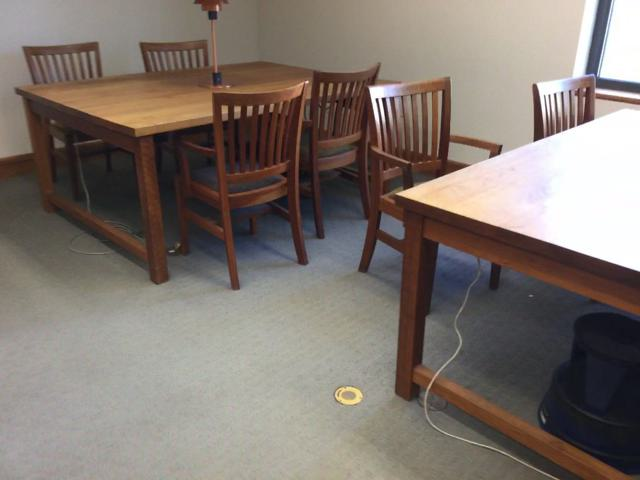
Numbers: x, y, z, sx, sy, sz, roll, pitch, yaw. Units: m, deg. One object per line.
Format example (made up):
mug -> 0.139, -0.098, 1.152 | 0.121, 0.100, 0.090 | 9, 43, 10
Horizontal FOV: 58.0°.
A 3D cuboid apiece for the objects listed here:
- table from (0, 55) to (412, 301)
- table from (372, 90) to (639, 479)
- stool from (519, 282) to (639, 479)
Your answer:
table -> -0.640, -0.590, 3.540 | 1.560, 0.940, 1.880 | 17, 26, 38
table -> 1.270, 0.070, 2.040 | 1.330, 0.950, 1.790 | 17, 26, 38
stool -> 0.960, 0.430, 1.850 | 0.430, 0.370, 0.450 | 17, 26, 38
